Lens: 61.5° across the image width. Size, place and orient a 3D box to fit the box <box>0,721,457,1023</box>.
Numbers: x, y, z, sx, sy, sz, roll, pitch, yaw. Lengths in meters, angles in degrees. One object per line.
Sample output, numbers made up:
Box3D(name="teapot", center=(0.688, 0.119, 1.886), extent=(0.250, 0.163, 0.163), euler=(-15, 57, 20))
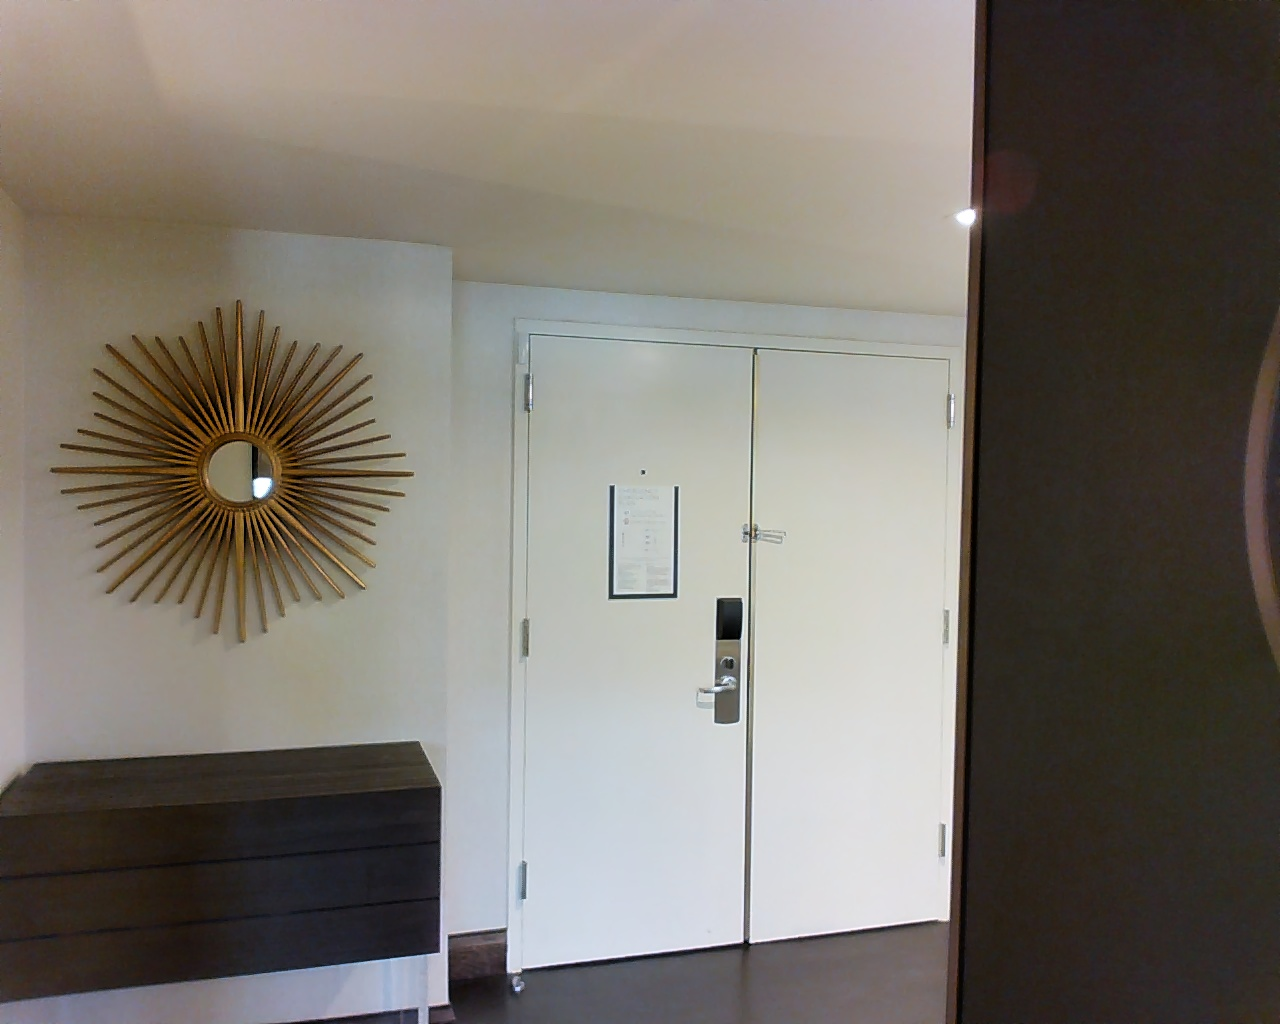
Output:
Box3D(name="box", center=(-0.950, 0.850, 2.530), extent=(0.950, 0.570, 0.500), euler=(1, 2, -18))
